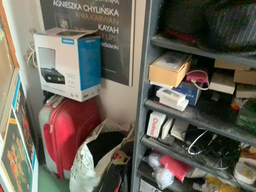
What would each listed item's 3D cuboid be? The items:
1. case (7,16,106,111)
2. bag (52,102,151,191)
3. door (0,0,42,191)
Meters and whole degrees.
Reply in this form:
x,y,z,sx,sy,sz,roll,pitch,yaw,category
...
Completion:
x,y,z,sx,sy,sz,roll,pitch,yaw,category
-0.420,-0.220,1.320,0.500,0.420,0.250,19,36,22,case
-0.140,0.410,1.360,0.340,0.490,0.490,21,37,25,bag
-0.590,-0.320,0.880,0.080,2.100,0.930,-7,35,-16,door
